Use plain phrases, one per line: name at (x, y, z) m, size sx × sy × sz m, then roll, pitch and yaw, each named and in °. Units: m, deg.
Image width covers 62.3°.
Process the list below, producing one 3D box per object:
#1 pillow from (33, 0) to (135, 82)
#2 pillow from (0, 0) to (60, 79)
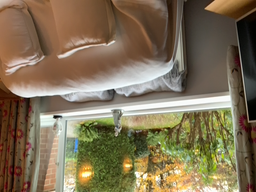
pillow at (-0.270, -0.400, 1.190) m, size 0.460 × 0.430 × 0.140 m, roll -44°, pitch 154°, yaw 16°
pillow at (-0.730, -0.400, 1.500) m, size 0.440 × 0.350 × 0.120 m, roll -36°, pitch 157°, yaw 19°
